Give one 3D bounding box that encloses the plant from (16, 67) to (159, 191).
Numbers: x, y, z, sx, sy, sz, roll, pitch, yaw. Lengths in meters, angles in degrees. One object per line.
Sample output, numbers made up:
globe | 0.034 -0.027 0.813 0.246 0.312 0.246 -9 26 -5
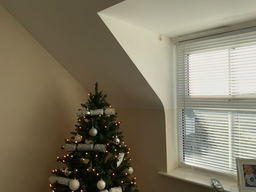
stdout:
plant | -0.310 0.700 1.680 0.810 1.710 0.770 0 0 41
